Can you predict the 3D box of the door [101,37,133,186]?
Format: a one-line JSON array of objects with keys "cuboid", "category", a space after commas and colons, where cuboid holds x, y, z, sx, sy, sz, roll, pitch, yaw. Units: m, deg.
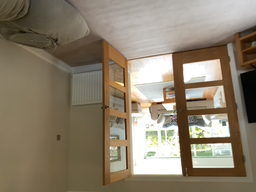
[{"cuboid": [-0.160, 0.220, 3.230, 0.090, 1.990, 0.900, -6, 167, 20], "category": "door"}]
